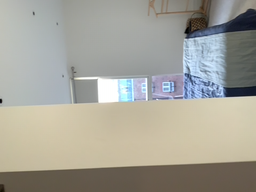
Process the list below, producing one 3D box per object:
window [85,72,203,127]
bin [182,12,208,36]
[{"bbox_3d":[0.340,0.080,4.500,0.230,2.380,1.050,-97,5,-77],"label":"window"},{"bbox_3d":[1.190,-1.280,3.810,0.280,0.360,0.370,-98,6,-79],"label":"bin"}]
